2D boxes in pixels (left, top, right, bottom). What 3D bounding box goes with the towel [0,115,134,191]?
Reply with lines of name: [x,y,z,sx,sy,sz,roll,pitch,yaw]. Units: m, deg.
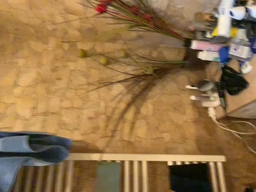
towel: [-0.380,0.440,0.790,0.280,0.770,0.670,113,158,-64]
